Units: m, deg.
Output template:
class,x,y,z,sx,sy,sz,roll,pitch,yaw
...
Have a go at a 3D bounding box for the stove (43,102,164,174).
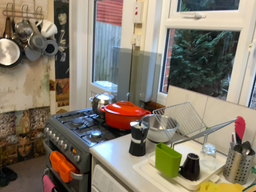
class,x,y,z,sx,sy,sz,roll,pitch,yaw
stove,-0.180,0.250,1.600,0.690,0.140,0.580,-10,22,-42
